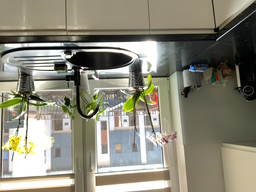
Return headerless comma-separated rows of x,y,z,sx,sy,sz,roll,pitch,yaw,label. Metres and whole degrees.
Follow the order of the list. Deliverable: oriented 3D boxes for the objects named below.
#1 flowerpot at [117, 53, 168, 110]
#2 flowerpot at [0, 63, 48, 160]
0.100,-0.100,1.760,0.340,0.400,0.360,-2,173,-7,flowerpot
-0.760,0.110,1.520,0.280,0.620,0.280,-2,173,-5,flowerpot
